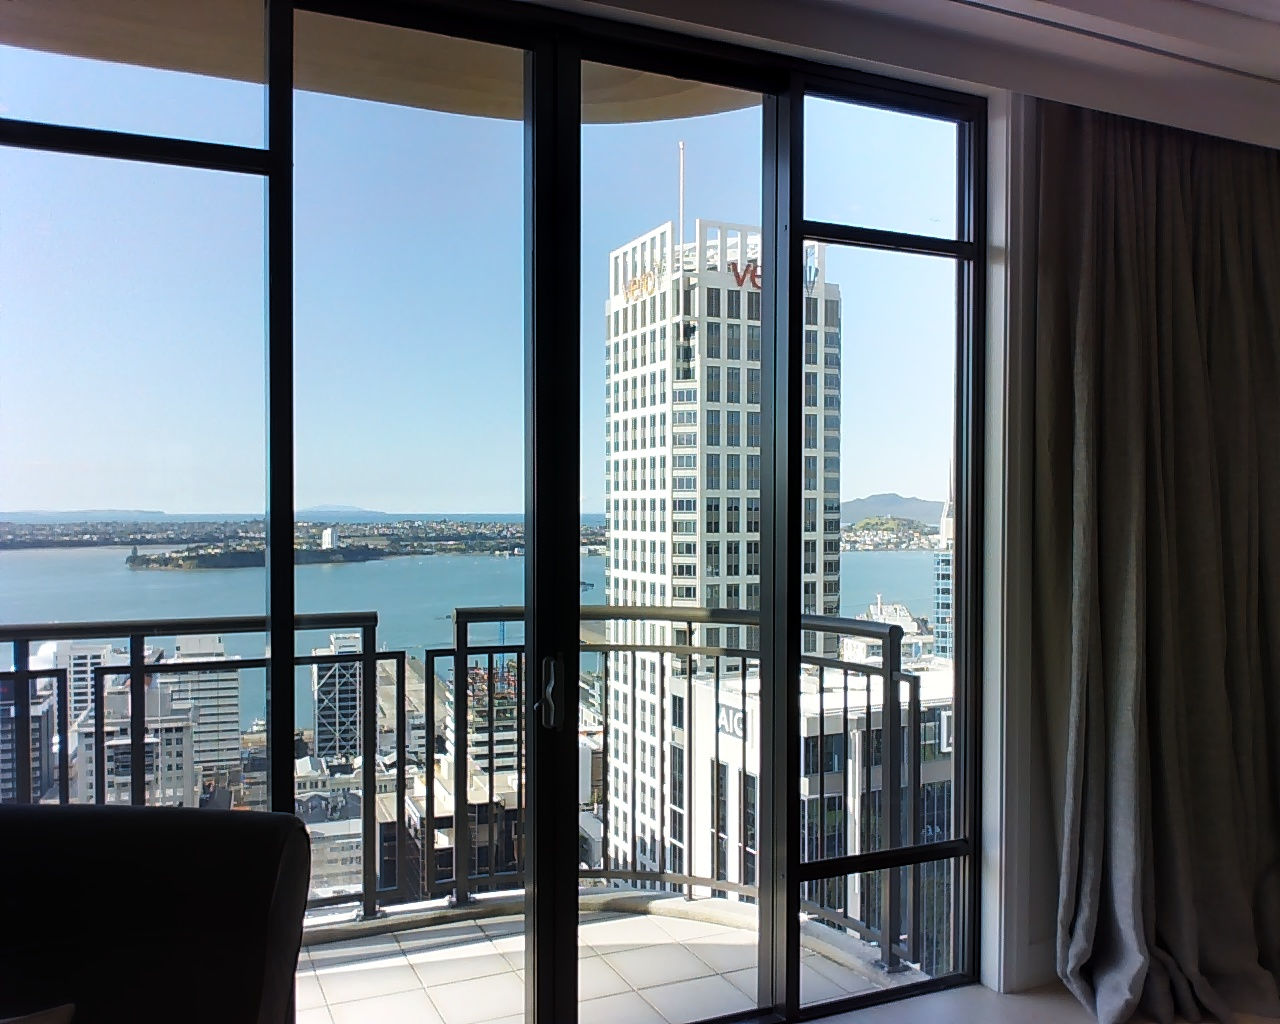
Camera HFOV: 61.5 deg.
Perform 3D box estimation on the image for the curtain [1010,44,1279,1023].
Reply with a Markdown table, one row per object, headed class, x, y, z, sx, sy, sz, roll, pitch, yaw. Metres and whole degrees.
| class | x | y | z | sx | sy | sz | roll | pitch | yaw |
| --- | --- | --- | --- | --- | --- | --- | --- | --- | --- |
| curtain | 1.880 | 0.050 | 3.170 | 1.510 | 2.571 | 0.290 | 0 | -6 | -24 |
